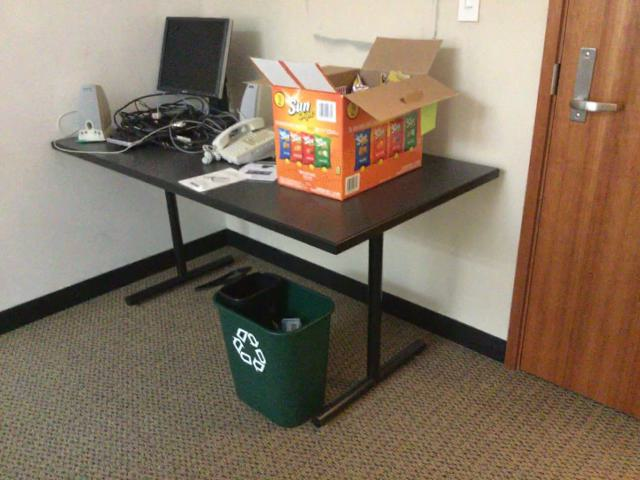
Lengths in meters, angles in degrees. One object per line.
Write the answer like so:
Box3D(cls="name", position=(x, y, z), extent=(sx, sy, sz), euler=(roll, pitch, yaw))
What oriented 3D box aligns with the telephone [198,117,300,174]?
Box3D(cls="telephone", position=(-0.240, -0.330, 1.980), extent=(0.240, 0.120, 0.240), euler=(17, 28, 37))
